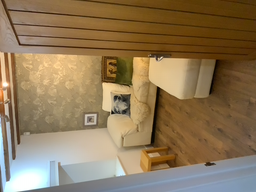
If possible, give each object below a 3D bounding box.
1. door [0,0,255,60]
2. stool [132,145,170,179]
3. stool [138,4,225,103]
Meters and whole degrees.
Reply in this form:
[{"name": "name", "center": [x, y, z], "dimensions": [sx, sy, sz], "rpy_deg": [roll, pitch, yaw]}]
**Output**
[{"name": "door", "center": [0.250, -0.390, 1.150], "dimensions": [0.770, 1.900, 0.060], "rpy_deg": [153, 114, -68]}, {"name": "stool", "center": [0.330, 0.970, 3.160], "dimensions": [0.290, 0.450, 0.320], "rpy_deg": [-140, 52, -64]}, {"name": "stool", "center": [0.540, -0.520, 2.520], "dimensions": [0.900, 0.460, 0.940], "rpy_deg": [-138, 50, -64]}]
